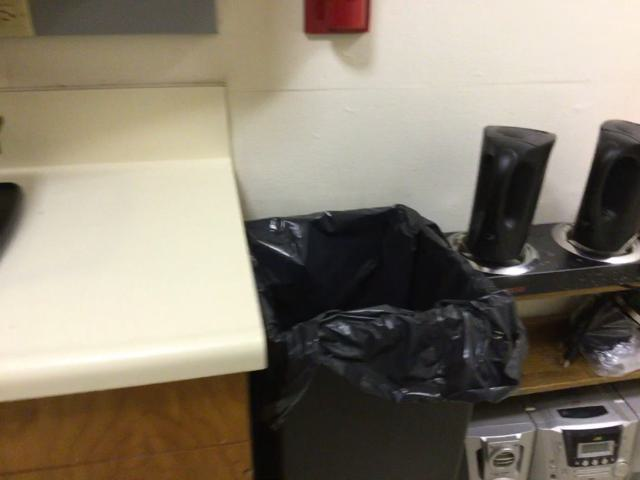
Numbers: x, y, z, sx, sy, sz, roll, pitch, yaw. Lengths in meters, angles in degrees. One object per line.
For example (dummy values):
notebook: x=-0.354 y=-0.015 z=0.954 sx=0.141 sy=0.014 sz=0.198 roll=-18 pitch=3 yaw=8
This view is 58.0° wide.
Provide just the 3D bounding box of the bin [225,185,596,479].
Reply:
bin: x=0.100 y=0.390 z=1.210 sx=0.500 sy=0.830 sz=0.540 roll=-5 pitch=27 yaw=-10

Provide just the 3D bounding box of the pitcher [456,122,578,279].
pitcher: x=0.380 y=-0.080 z=1.150 sx=0.150 sy=0.270 sz=0.130 roll=-5 pitch=27 yaw=-10

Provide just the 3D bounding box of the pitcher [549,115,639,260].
pitcher: x=0.600 y=-0.110 z=1.190 sx=0.160 sy=0.260 sz=0.120 roll=-5 pitch=27 yaw=-10

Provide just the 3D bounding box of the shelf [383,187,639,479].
shelf: x=0.730 y=0.300 z=1.460 sx=1.040 sy=0.770 sz=0.360 roll=-5 pitch=27 yaw=-10
